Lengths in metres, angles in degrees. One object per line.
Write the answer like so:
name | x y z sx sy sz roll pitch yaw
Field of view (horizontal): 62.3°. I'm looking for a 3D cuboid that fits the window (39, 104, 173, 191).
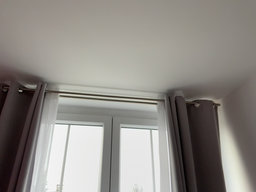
window | -0.160 1.020 1.570 1.010 1.980 0.210 3 -28 -7
